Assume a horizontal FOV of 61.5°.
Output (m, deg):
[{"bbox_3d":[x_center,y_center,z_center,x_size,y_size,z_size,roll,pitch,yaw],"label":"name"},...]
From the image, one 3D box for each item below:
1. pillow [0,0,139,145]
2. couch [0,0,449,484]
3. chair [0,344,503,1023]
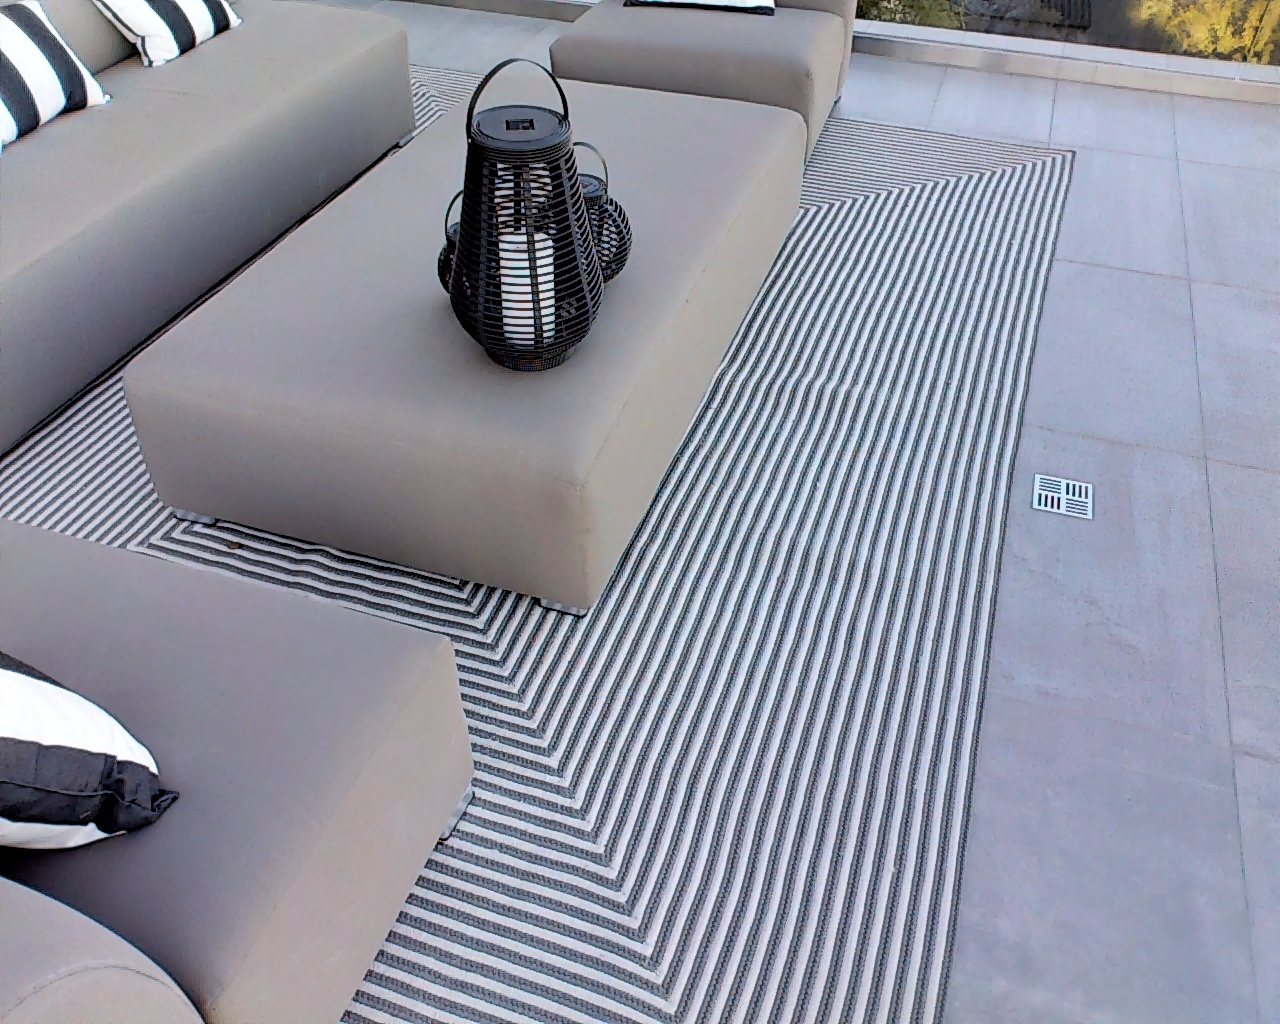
[{"bbox_3d":[-1.690,-1.250,2.930,0.270,0.270,0.520,13,43,14],"label":"pillow"},{"bbox_3d":[-1.630,-1.100,3.040,1.020,0.810,2.590,13,43,14],"label":"couch"},{"bbox_3d":[-0.850,0.370,1.450,0.960,0.700,0.950,13,43,14],"label":"chair"}]
